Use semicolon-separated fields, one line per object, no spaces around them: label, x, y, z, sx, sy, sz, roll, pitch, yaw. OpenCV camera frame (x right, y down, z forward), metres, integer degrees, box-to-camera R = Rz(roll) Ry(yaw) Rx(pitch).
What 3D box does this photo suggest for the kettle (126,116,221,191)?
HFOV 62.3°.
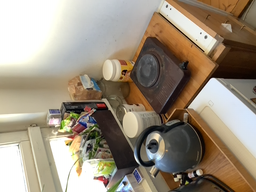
kettle;0.160;0.220;0.800;0.180;0.220;0.210;58;134;35
